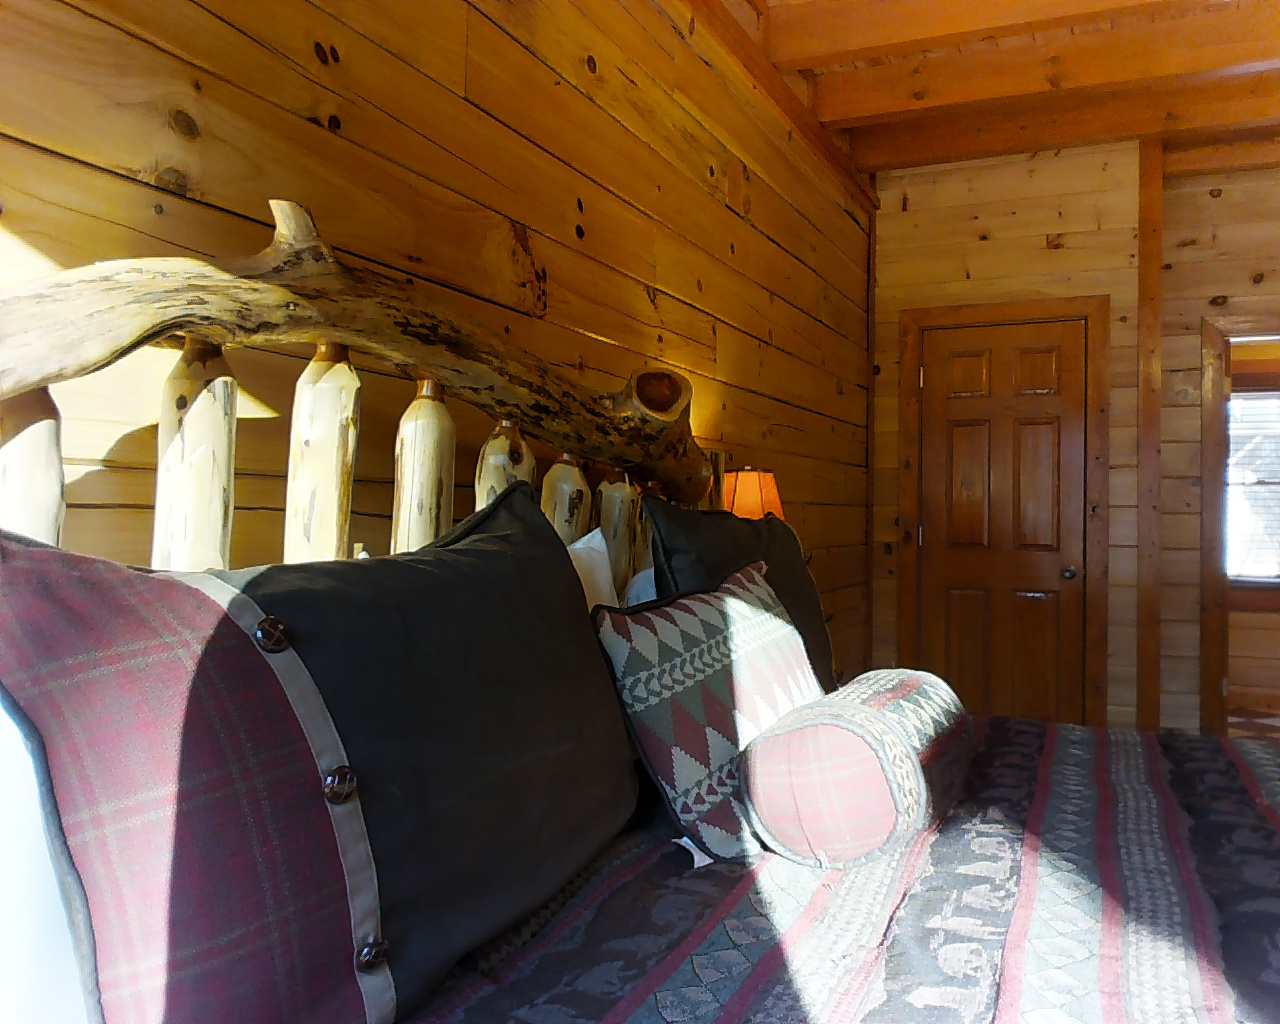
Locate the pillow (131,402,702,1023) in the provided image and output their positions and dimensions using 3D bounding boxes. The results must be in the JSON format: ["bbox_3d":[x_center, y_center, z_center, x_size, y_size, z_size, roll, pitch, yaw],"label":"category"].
[{"bbox_3d":[-0.160,0.180,1.160,0.320,0.520,0.710,6,3,10],"label":"pillow"}]

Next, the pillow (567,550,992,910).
[{"bbox_3d":[0.240,0.250,1.540,0.470,0.360,0.610,2,0,20],"label":"pillow"}]

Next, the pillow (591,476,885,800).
[{"bbox_3d":[0.240,0.200,2.140,0.280,0.470,0.840,13,4,20],"label":"pillow"}]
